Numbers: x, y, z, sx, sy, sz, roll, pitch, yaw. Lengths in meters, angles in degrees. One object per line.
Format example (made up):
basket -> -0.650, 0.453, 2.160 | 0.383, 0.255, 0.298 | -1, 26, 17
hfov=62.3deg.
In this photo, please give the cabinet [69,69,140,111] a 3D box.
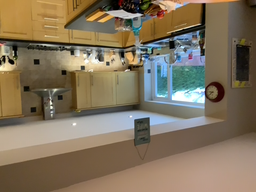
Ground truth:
cabinet -> -0.460, -0.160, 4.620 | 1.550, 0.810, 0.300 | -4, -174, -33
